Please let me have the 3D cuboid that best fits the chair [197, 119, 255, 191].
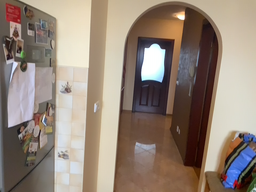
[{"bbox_3d":[0.970,0.760,1.930,0.490,0.980,0.390,6,10,3],"label":"chair"}]
